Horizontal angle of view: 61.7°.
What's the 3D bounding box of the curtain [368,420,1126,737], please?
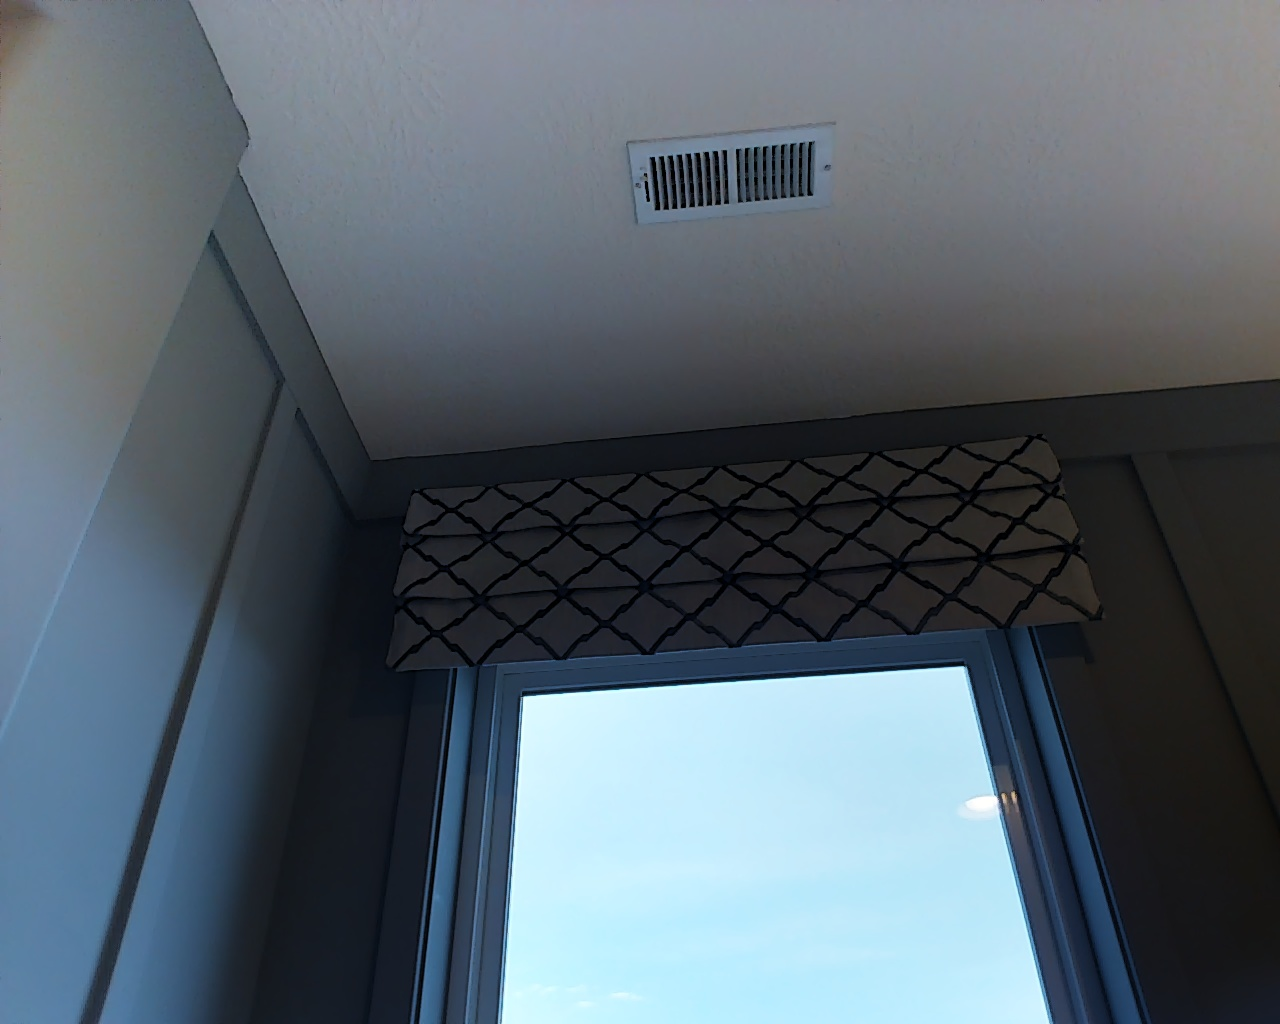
[{"bbox_3d":[0.140,0.100,1.650,1.030,0.380,0.180,-4,-40,4],"label":"curtain"}]
